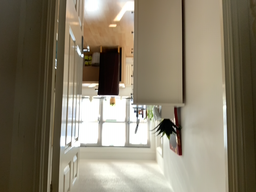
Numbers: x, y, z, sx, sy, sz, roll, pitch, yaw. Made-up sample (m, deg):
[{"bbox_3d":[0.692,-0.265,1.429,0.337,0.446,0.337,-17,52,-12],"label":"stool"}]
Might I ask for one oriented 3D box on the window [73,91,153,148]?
[{"bbox_3d":[-0.330,0.540,4.920,1.820,1.280,0.150,0,175,2],"label":"window"}]
